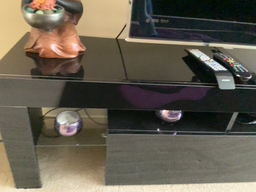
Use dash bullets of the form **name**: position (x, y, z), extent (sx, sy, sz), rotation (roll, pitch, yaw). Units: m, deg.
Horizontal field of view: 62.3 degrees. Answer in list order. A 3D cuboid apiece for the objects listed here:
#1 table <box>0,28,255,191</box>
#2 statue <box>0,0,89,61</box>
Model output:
- **table**: position (0.600, 0.060, 0.920), extent (2.050, 0.450, 0.420), rotation (1, 32, -8)
- **statue**: position (-0.220, -0.310, 0.600), extent (0.180, 0.320, 0.270), rotation (4, 32, -4)
